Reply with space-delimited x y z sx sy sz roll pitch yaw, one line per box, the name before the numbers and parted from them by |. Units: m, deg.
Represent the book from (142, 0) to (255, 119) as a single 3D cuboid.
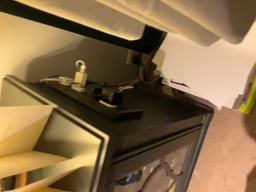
book | 0.360 -0.150 0.870 0.380 0.410 0.320 22 105 34
